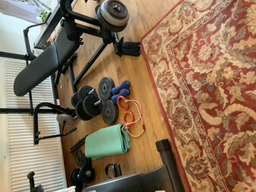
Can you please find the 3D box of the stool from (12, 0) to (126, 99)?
[{"bbox_3d":[-0.650,-0.370,2.090,1.170,0.620,0.330,-35,62,42],"label":"stool"}]
